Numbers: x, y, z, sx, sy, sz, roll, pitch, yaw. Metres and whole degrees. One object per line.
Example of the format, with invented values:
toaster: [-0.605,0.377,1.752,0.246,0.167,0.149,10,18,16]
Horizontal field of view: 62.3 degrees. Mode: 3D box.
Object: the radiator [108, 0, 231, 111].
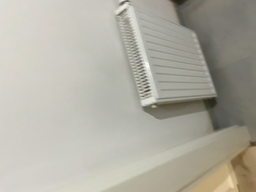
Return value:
radiator: [0.260,-0.180,1.060,0.120,0.710,0.440,-29,72,38]
